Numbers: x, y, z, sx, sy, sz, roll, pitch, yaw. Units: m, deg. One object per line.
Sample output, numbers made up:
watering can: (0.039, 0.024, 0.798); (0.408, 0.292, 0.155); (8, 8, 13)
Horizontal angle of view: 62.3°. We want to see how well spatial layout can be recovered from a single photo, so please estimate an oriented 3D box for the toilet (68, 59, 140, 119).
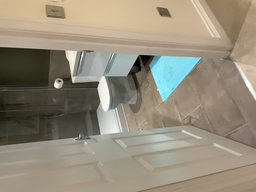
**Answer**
toilet: (-0.340, -0.100, 2.820); (0.370, 0.780, 0.670); (124, 137, -52)
